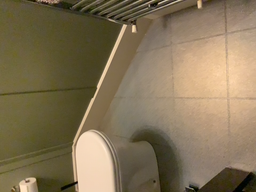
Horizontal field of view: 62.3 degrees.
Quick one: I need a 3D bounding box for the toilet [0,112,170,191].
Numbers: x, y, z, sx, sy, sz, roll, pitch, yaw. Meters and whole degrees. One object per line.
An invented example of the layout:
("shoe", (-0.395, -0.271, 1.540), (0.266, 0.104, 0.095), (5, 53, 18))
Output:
("toilet", (-0.180, 0.500, 1.180), (0.400, 0.840, 0.660), (4, 99, 45))
